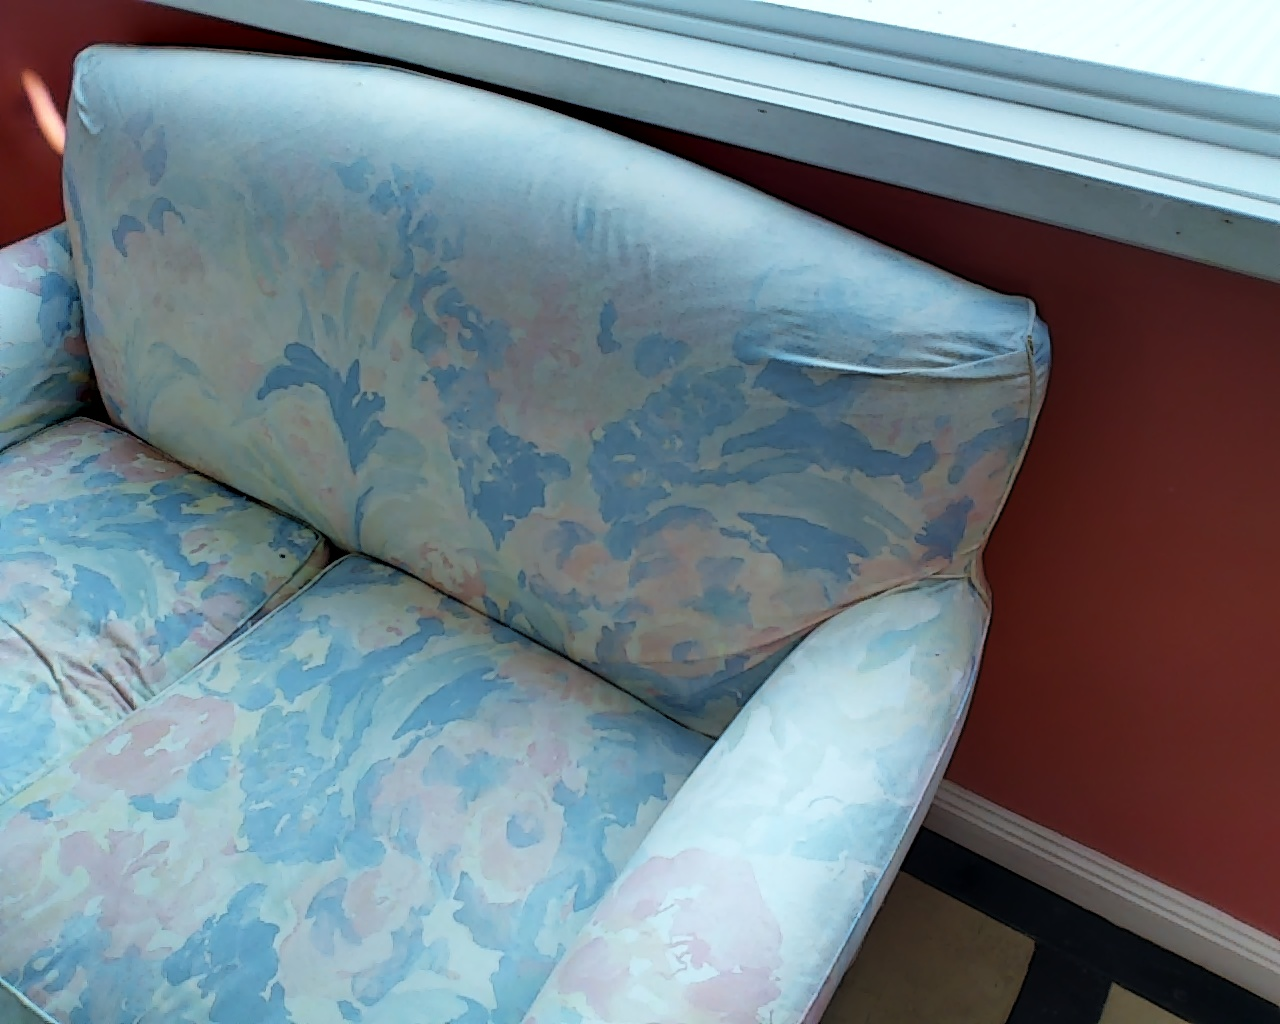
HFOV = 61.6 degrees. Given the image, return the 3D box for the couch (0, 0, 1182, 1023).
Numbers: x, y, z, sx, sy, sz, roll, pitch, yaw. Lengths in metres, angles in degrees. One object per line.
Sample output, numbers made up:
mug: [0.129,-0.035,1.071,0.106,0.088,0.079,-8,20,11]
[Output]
couch: [-0.430,0.110,1.200,1.510,0.850,0.920,23,47,25]
